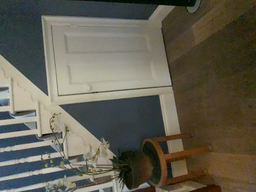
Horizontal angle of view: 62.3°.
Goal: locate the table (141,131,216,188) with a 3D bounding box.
[{"bbox_3d":[0.430,0.540,1.900,0.360,0.480,0.360,150,112,-68],"label":"table"}]
